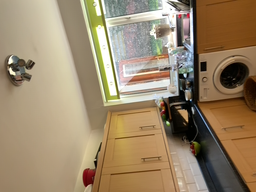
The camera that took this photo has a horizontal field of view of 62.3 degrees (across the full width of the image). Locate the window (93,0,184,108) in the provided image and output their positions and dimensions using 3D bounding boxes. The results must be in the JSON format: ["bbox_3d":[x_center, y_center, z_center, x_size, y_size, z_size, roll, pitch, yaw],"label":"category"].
[{"bbox_3d":[0.200,-0.770,3.040,0.180,1.120,1.920,-89,-9,-64],"label":"window"}]
